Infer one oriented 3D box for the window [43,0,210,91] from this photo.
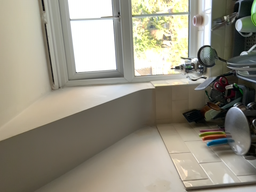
[{"bbox_3d":[0.000,-0.530,1.410,0.190,1.020,0.910,-102,9,-75],"label":"window"}]
